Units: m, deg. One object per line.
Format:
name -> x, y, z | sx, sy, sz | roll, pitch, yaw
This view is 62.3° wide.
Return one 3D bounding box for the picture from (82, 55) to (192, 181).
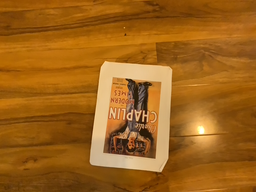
picture -> 0.030, 0.050, 0.580 | 0.230, 0.010, 0.290 | 15, 80, 4
